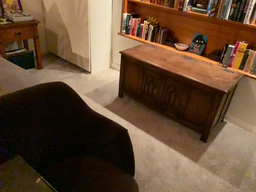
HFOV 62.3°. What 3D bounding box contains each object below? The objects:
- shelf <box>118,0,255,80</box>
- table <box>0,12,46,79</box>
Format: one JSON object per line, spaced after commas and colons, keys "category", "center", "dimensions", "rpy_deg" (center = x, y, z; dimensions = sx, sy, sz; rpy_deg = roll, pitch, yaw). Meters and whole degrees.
{"category": "shelf", "center": [0.680, -0.890, 2.070], "dimensions": [1.840, 0.990, 0.200], "rpy_deg": [27, 37, 31]}
{"category": "table", "center": [-1.450, -0.660, 2.670], "dimensions": [0.480, 0.630, 0.540], "rpy_deg": [28, 38, 32]}
